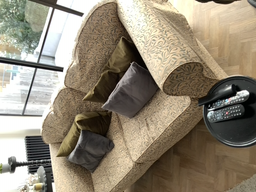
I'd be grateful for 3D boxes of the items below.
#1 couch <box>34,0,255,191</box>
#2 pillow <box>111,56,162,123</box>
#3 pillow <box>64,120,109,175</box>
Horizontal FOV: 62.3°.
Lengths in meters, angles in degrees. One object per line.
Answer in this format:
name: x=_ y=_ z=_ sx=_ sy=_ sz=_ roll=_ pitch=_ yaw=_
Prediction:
couch: x=-0.110 y=0.130 z=1.820 sx=1.860 sy=0.810 sz=0.980 roll=-55 pitch=45 yaw=33
pillow: x=0.040 y=-0.030 z=1.490 sx=0.490 sy=0.250 sz=0.120 roll=103 pitch=148 yaw=-47
pillow: x=-0.370 y=0.480 z=1.910 sx=0.540 sy=0.320 sz=0.170 roll=101 pitch=150 yaw=-48
